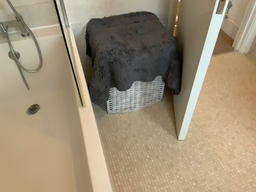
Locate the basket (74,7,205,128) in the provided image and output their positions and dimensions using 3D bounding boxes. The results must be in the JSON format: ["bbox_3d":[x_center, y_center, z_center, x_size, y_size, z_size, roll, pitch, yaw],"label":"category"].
[{"bbox_3d":[0.050,-0.200,1.500,0.690,0.590,0.420,-13,48,-11],"label":"basket"}]
